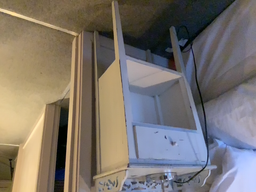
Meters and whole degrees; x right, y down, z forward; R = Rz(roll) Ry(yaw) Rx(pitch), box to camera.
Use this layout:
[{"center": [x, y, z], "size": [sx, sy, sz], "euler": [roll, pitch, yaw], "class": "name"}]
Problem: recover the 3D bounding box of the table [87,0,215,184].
[{"center": [0.060, -0.020, 0.920], "size": [0.390, 0.710, 0.250], "euler": [12, 149, -30], "class": "table"}]
